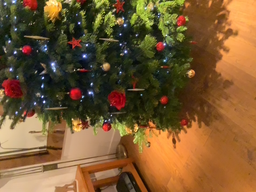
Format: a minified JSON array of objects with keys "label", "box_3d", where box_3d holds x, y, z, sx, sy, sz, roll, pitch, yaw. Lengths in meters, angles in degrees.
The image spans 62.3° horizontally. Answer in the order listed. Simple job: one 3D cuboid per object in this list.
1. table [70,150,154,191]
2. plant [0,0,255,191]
[{"label":"table","box_3d":[-0.210,1.150,2.610,0.720,0.770,0.440,52,134,45]},{"label":"plant","box_3d":[-0.510,-0.260,1.570,1.200,2.210,1.620,48,131,48]}]
